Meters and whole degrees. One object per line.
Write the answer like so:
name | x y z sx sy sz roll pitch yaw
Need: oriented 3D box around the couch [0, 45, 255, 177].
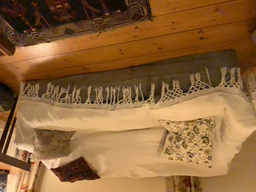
couch | 0.030 0.330 2.130 2.060 0.680 1.260 -6 149 12
